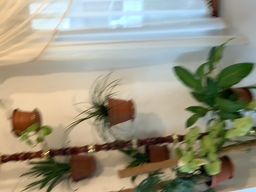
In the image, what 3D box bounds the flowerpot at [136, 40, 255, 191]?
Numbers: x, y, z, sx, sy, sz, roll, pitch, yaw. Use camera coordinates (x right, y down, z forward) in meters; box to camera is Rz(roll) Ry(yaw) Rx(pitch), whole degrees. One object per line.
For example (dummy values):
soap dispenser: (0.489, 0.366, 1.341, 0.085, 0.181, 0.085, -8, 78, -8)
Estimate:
flowerpot: (0.810, 0.060, 1.430, 0.620, 1.370, 0.780, -150, 55, -80)
